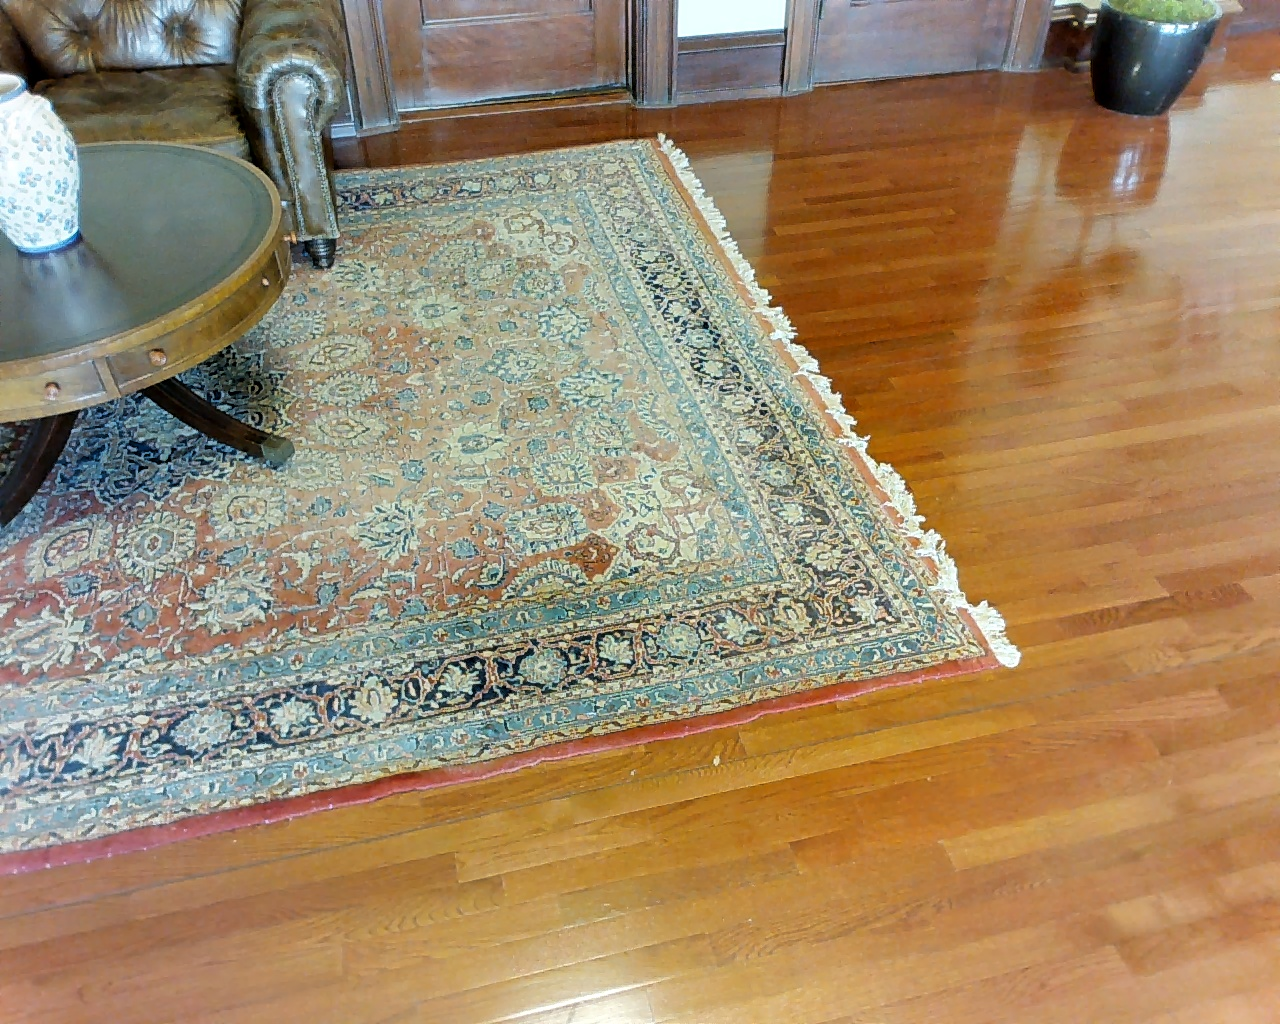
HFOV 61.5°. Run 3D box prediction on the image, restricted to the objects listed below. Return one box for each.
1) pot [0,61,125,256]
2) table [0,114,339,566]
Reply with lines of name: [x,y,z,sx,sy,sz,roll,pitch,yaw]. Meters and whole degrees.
pot: [-1.230,-0.710,2.160,0.200,0.300,0.220,6,42,6]
table: [-1.230,-0.420,2.420,0.950,0.510,0.950,-9,43,-11]
